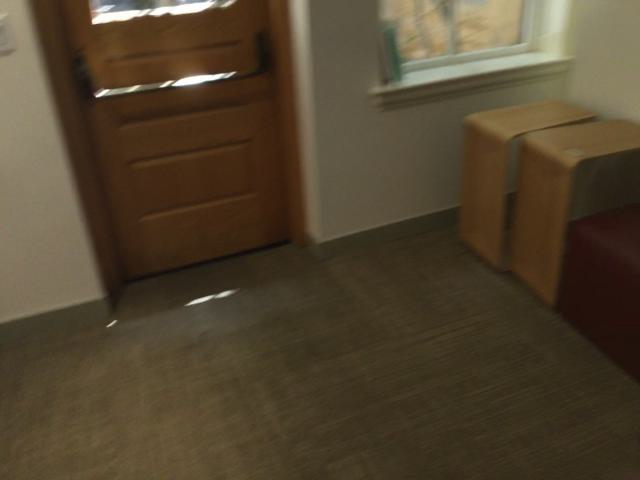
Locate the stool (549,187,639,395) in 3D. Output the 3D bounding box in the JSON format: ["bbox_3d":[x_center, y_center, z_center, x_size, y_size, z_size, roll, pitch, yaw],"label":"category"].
[{"bbox_3d":[1.190,0.130,1.910,0.580,0.460,0.520,-11,26,-11],"label":"stool"}]

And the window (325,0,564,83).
[{"bbox_3d":[0.550,-1.310,2.570,1.020,1.000,0.390,-12,27,-14],"label":"window"}]

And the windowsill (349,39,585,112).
[{"bbox_3d":[0.690,-0.780,2.700,1.090,0.150,0.240,-12,27,-14],"label":"windowsill"}]
